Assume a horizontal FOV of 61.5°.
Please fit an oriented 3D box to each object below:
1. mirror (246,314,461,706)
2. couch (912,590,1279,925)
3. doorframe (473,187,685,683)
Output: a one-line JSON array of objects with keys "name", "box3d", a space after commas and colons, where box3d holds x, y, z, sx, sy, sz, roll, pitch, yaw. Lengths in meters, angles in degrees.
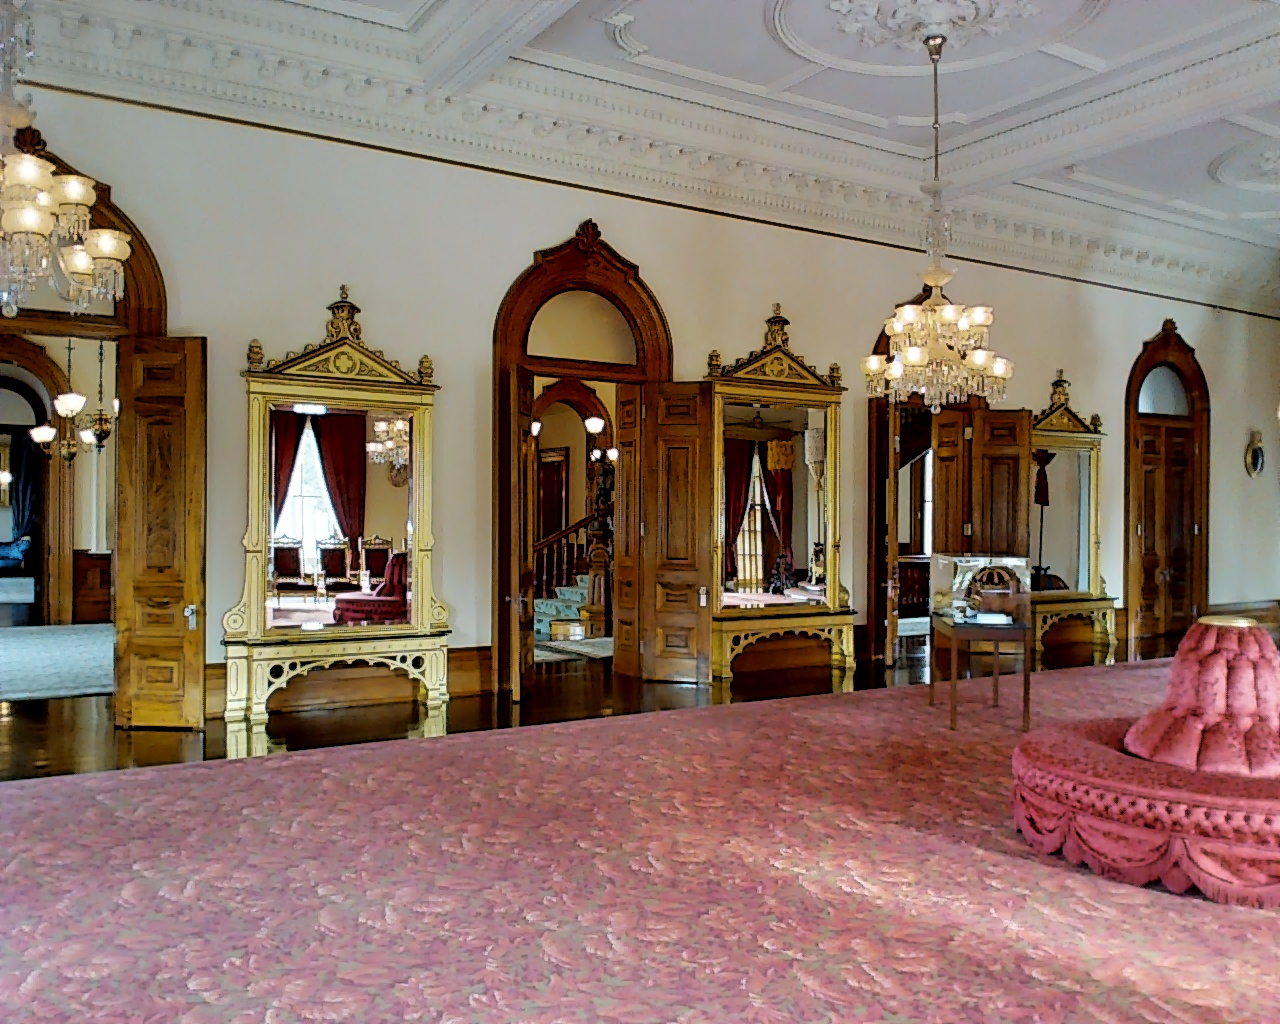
[{"name": "mirror", "box3d": [-2.340, -0.010, 8.900, 1.660, 3.030, 0.340, 1, 0, -32]}, {"name": "couch", "box3d": [2.860, 1.010, 5.260, 2.140, 1.070, 2.050, 1, 0, -32]}, {"name": "doorframe", "box3d": [-0.550, -0.680, 10.340, 2.050, 4.451, 0.390, 1, 0, -32]}]
